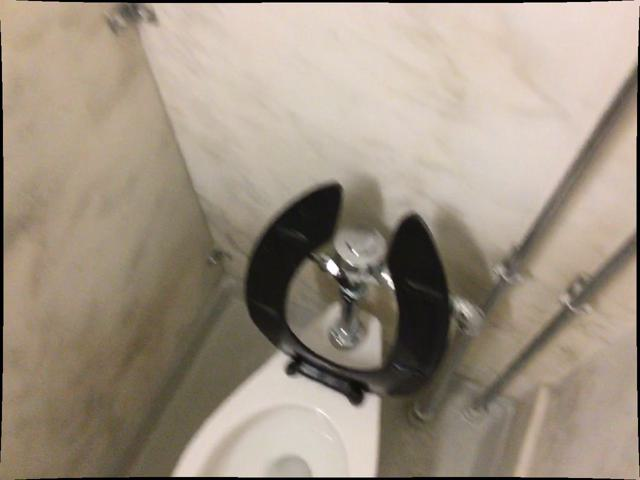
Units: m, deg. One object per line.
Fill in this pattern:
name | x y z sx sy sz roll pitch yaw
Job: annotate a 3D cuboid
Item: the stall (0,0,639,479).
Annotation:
stall | -0.150 0.380 0.450 0.999 1.900 1.581 22 64 11
